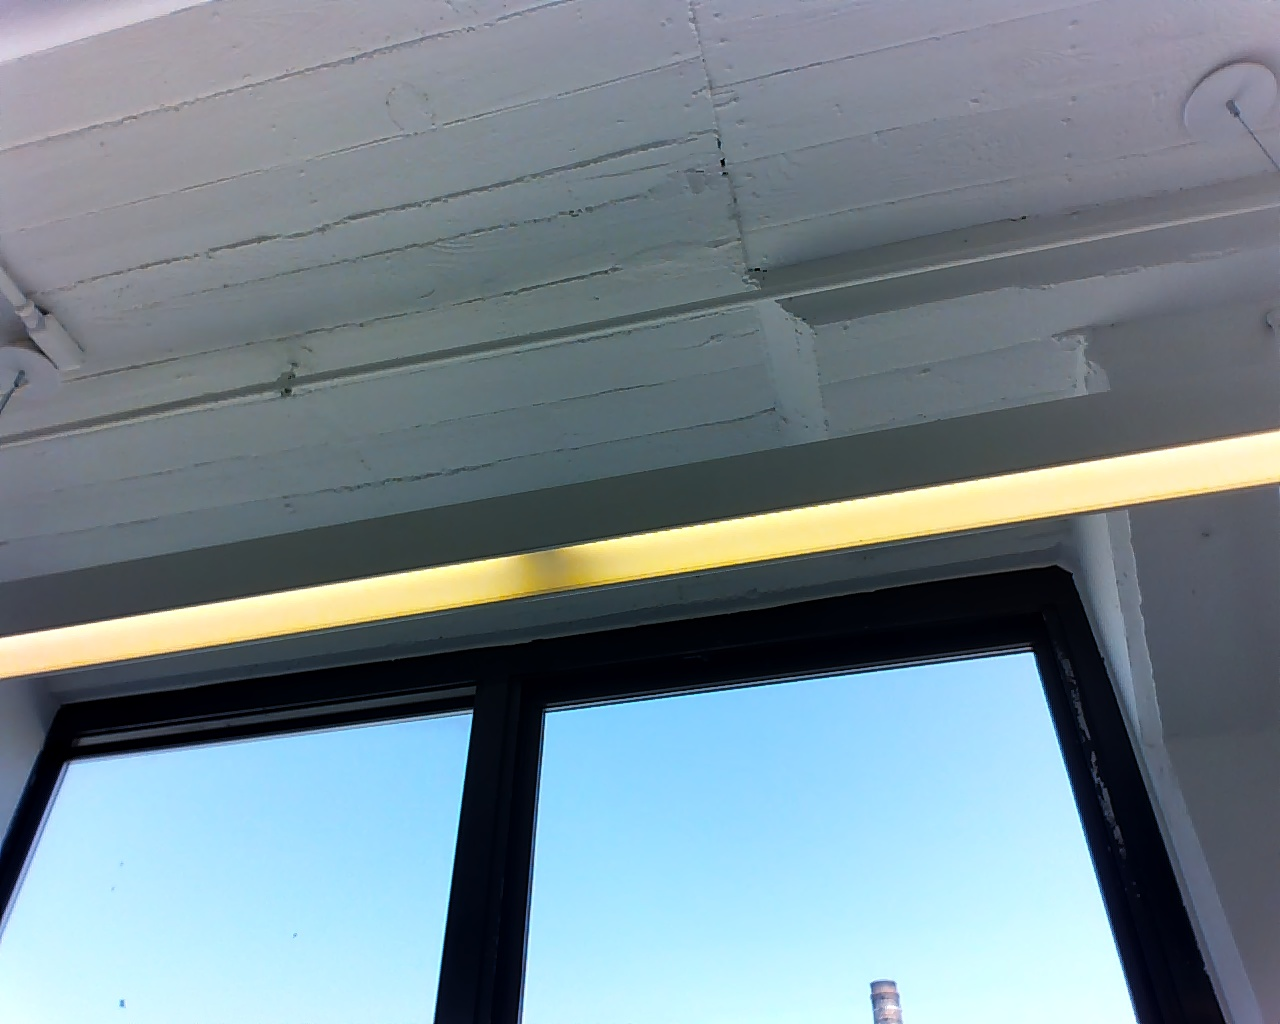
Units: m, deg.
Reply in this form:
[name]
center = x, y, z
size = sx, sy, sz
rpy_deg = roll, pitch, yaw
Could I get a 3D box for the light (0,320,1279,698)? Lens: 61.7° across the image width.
[light]
center = -0.130, 0.030, 1.390
size = 2.498, 0.180, 0.150
rpy_deg = -9, 46, 10
